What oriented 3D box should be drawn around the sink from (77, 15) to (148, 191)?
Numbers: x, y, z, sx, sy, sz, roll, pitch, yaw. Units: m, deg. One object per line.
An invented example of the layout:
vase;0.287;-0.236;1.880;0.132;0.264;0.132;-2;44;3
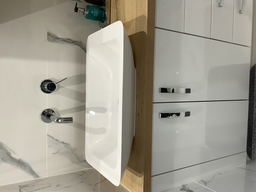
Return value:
sink;-0.090;0.020;0.910;0.390;0.120;0.600;5;95;57
